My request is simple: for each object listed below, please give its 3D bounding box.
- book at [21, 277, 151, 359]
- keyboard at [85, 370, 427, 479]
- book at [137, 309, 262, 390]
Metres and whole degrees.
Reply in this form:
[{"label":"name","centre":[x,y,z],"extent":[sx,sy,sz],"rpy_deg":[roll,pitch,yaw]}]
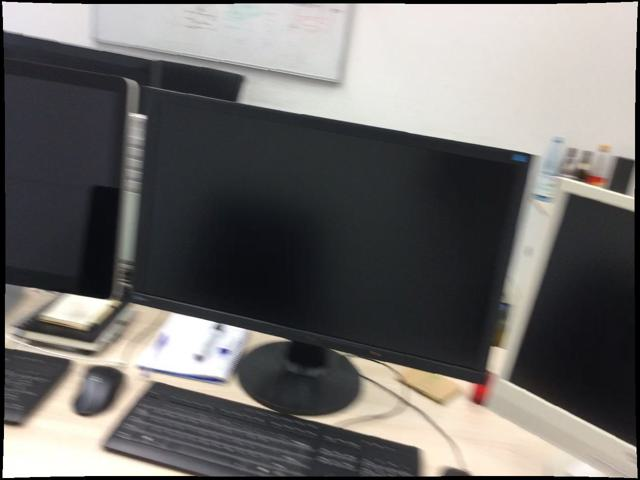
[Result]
[{"label":"book","centre":[-0.460,0.150,1.160],"extent":[0.170,0.050,0.200],"rpy_deg":[10,19,2]},{"label":"keyboard","centre":[-0.080,0.320,0.910],"extent":[0.490,0.030,0.220],"rpy_deg":[10,19,2]},{"label":"book","centre":[-0.230,0.210,1.150],"extent":[0.190,0.020,0.220],"rpy_deg":[10,19,2]}]
